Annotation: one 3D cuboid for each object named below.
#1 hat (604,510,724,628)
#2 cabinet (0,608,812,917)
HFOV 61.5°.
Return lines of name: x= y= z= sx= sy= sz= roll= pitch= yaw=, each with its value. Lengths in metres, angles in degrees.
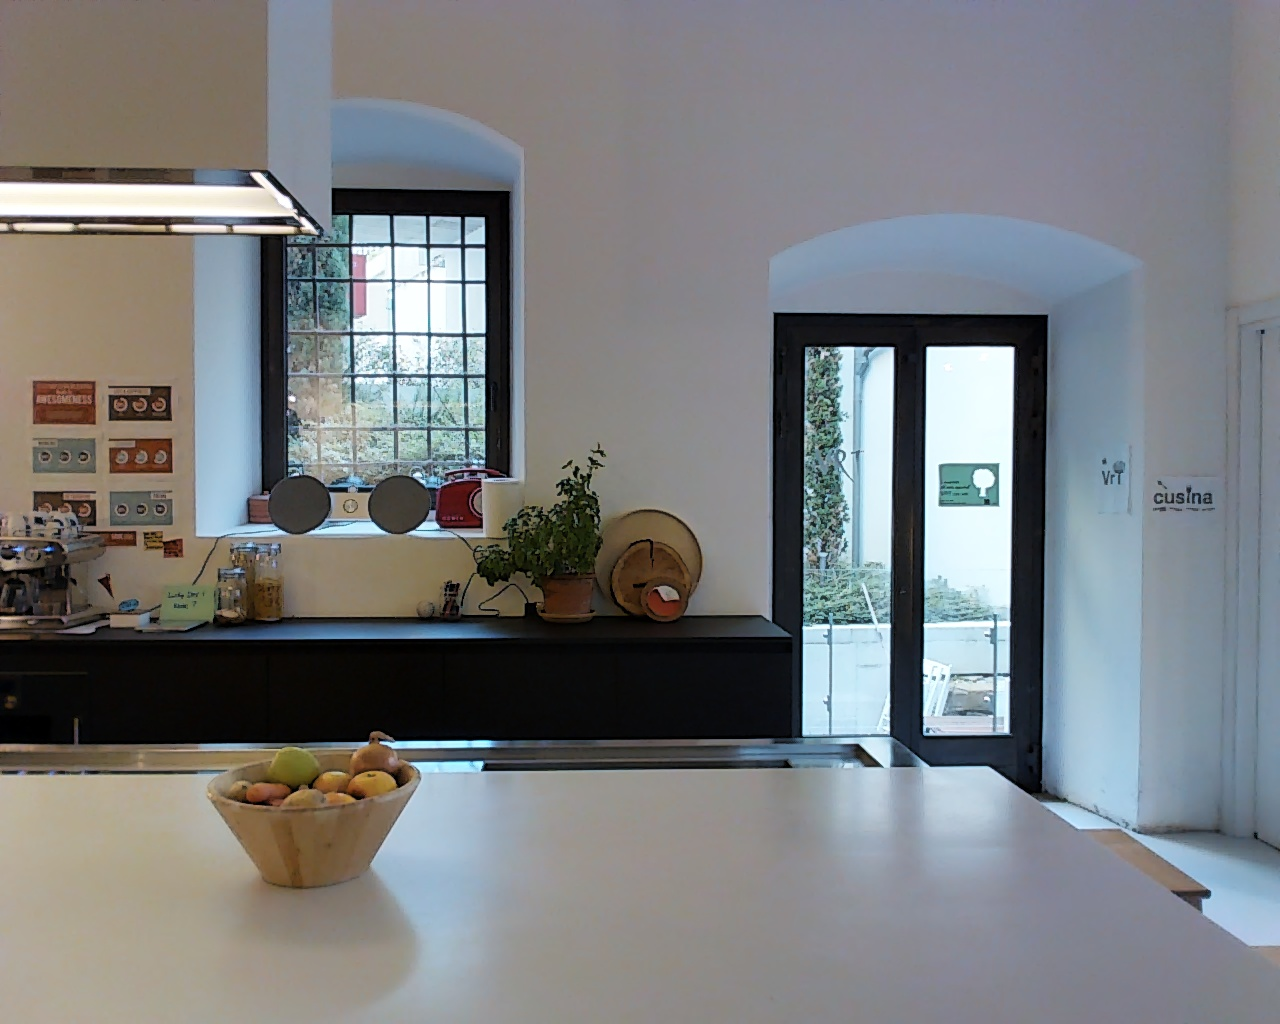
hat: x=0.090 y=0.220 z=4.300 sx=0.460 sy=0.450 sz=0.250 roll=0 pitch=1 yaw=-3
cabinet: x=-1.250 y=0.880 z=4.010 sx=3.669 sy=0.960 sz=0.690 roll=0 pitch=1 yaw=-3
